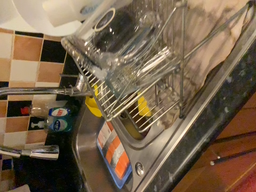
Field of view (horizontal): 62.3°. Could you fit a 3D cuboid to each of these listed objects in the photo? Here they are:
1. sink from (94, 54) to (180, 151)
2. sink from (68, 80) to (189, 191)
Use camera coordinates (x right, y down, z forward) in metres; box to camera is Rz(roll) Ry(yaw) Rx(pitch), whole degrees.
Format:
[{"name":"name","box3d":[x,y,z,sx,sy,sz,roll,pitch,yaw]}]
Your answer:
[{"name":"sink","box3d":[0.010,0.010,0.760,0.300,0.120,0.180,54,131,40]},{"name":"sink","box3d":[-0.060,0.250,0.900,0.510,0.160,0.410,54,131,40]}]
